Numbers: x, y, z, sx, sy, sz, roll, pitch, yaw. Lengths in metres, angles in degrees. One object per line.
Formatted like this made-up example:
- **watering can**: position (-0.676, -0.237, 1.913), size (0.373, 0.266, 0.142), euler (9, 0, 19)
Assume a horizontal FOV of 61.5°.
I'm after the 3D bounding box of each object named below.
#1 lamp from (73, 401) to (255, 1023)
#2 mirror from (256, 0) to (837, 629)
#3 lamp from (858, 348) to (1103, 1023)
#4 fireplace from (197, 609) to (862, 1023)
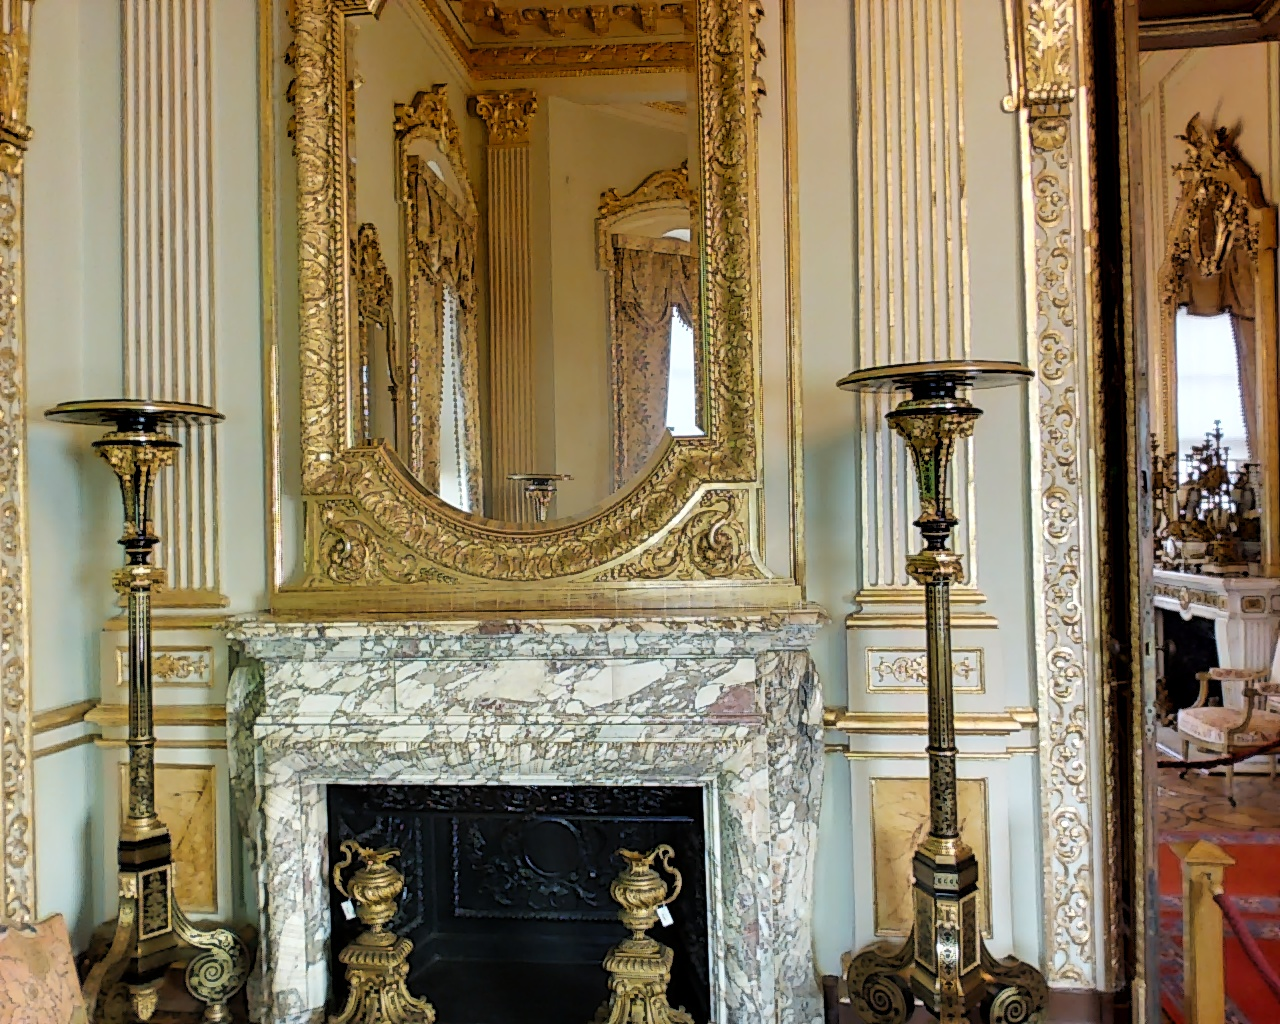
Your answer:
- **lamp**: position (-1.599, 0.720, 3.640), size (0.390, 2.141, 0.370), euler (-1, 0, 8)
- **mirror**: position (-0.330, -1.080, 3.630), size (1.889, 2.911, 0.260), euler (-1, 0, 8)
- **lamp**: position (0.960, 0.610, 3.140), size (0.560, 2.071, 0.570), euler (-1, 0, 8)
- **fireplace**: position (-0.340, 1.060, 3.490), size (2.029, 1.431, 0.510), euler (-1, 0, 8)
